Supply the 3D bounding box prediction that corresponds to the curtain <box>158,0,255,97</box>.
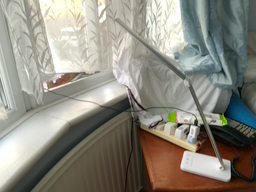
[{"bbox_3d":[0.430,-0.760,0.950,0.460,1.450,0.280,-17,29,-31],"label":"curtain"}]
